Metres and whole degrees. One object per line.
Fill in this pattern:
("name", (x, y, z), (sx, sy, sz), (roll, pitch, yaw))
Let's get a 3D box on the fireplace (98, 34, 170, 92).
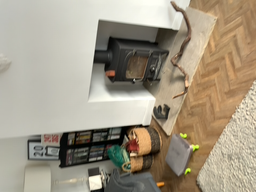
("fireplace", (0.050, -0.390, 2.590), (0.400, 0.680, 0.540), (54, 138, 49))
